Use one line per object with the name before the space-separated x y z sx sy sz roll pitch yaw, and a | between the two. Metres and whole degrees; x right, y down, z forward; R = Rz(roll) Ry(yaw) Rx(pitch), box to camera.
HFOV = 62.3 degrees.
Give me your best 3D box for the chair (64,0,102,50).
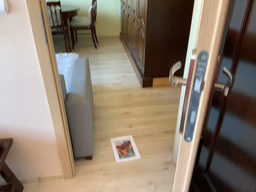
chair | -0.890 -1.570 4.340 0.620 1.060 0.670 -3 31 -7
